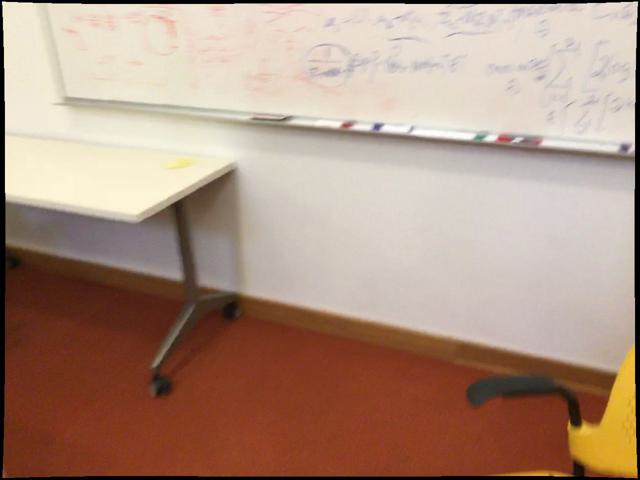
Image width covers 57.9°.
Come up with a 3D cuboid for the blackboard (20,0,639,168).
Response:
[{"bbox_3d":[0.170,-0.951,1.780,2.838,1.301,0.100,9,27,18],"label":"blackboard"}]
